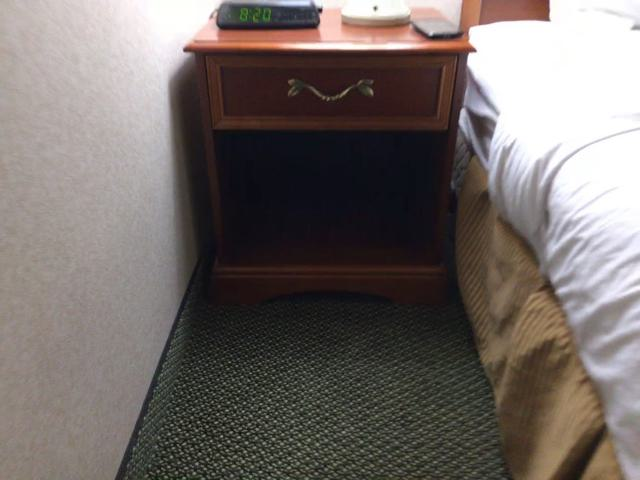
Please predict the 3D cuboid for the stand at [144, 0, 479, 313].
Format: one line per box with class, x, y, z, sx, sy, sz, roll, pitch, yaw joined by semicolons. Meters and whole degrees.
stand;0.010;-0.250;1.410;0.600;0.670;0.490;-2;30;4
